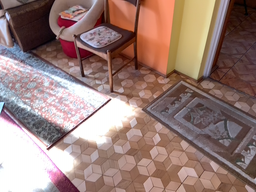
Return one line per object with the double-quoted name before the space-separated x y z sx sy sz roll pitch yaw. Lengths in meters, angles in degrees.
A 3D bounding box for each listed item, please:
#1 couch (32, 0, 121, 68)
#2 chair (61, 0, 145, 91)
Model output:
"couch" -0.560 -0.880 2.450 0.650 0.700 0.640 30 52 30
"chair" -0.190 -0.600 2.030 0.460 0.840 0.540 28 51 28
